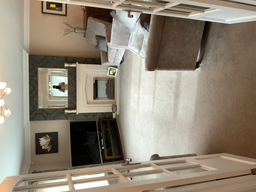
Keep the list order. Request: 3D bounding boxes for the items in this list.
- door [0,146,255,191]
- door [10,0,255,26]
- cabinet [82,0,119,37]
[{"bbox_3d":[0.140,0.580,1.480,0.730,2.050,0.090,-170,80,-71],"label":"door"},{"bbox_3d":[0.170,-0.670,1.500,0.840,1.920,0.080,-148,59,-68],"label":"door"},{"bbox_3d":[-0.750,-2.680,5.780,0.570,0.900,1.950,-171,81,-71],"label":"cabinet"}]
